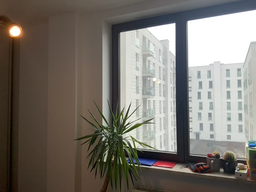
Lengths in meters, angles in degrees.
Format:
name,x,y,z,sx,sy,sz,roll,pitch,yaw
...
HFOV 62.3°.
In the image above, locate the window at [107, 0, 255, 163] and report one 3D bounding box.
name,x,y,z,sx,sy,sz,roll,pitch,yaw
window,0.570,-0.170,2.310,1.760,1.560,0.180,-1,-2,27
